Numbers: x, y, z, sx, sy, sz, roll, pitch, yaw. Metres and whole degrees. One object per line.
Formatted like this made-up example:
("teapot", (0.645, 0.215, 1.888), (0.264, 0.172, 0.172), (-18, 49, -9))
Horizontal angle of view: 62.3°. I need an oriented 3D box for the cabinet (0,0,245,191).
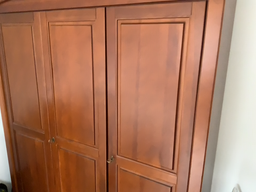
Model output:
("cabinet", (-0.240, 0.180, 1.650), (1.750, 2.060, 0.670), (11, 18, 28))
